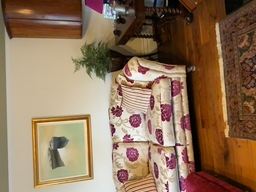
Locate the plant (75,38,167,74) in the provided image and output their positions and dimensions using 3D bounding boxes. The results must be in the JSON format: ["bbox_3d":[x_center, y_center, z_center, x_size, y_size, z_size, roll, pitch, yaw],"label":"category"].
[{"bbox_3d":[-0.100,-0.580,3.140,0.360,1.290,0.410,162,104,-73],"label":"plant"}]

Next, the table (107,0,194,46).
[{"bbox_3d":[0.220,-1.150,2.900,1.090,0.770,0.610,166,100,-73],"label":"table"}]
